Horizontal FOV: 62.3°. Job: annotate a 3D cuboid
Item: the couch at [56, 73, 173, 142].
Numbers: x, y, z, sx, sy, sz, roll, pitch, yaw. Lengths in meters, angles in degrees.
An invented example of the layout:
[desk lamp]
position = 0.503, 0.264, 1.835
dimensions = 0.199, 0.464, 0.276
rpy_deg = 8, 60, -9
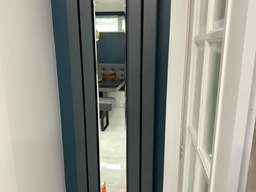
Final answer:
[couch]
position = -0.180, 0.130, 3.880
dimensions = 1.870, 0.970, 0.920
rpy_deg = 2, 13, 9
